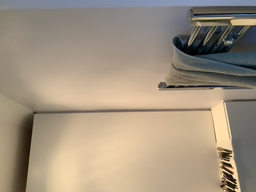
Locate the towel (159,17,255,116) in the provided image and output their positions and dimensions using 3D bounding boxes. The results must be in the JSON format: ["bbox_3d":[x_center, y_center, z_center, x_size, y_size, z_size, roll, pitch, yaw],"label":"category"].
[{"bbox_3d":[0.490,-0.070,0.670,0.310,0.730,0.190,92,176,-72],"label":"towel"}]
